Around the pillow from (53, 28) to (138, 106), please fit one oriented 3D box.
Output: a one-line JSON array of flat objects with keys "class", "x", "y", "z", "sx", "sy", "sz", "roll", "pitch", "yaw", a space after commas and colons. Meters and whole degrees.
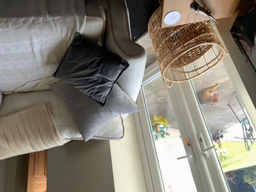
[{"class": "pillow", "x": -0.220, "y": -0.150, "z": 1.330, "sx": 0.390, "sy": 0.250, "sz": 0.360, "roll": 10, "pitch": 147, "yaw": -32}]
